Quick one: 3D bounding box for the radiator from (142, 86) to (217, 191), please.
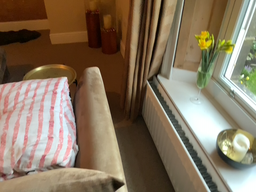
[{"bbox_3d":[0.340,0.510,1.230,0.090,0.360,1.450,-7,39,-11],"label":"radiator"}]
